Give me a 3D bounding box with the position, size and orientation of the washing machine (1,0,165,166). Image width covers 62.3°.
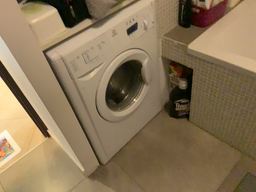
[{"bbox_3d":[-0.170,-0.130,1.300,0.530,0.840,0.570,32,59,34],"label":"washing machine"}]
